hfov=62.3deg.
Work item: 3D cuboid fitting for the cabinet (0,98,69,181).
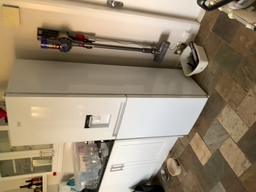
[{"bbox_3d":[-1.170,0.530,2.490,0.310,0.800,1.090,-113,32,-44],"label":"cabinet"}]

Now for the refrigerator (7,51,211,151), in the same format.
[{"bbox_3d":[-0.160,0.040,2.180,0.670,1.790,0.560,-113,32,-44],"label":"refrigerator"}]
